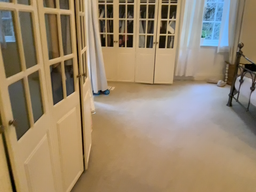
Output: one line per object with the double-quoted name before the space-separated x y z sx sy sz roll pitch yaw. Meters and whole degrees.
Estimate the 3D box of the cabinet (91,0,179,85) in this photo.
"cabinet" 0.130 -1.380 4.020 1.540 2.210 0.490 3 20 7
